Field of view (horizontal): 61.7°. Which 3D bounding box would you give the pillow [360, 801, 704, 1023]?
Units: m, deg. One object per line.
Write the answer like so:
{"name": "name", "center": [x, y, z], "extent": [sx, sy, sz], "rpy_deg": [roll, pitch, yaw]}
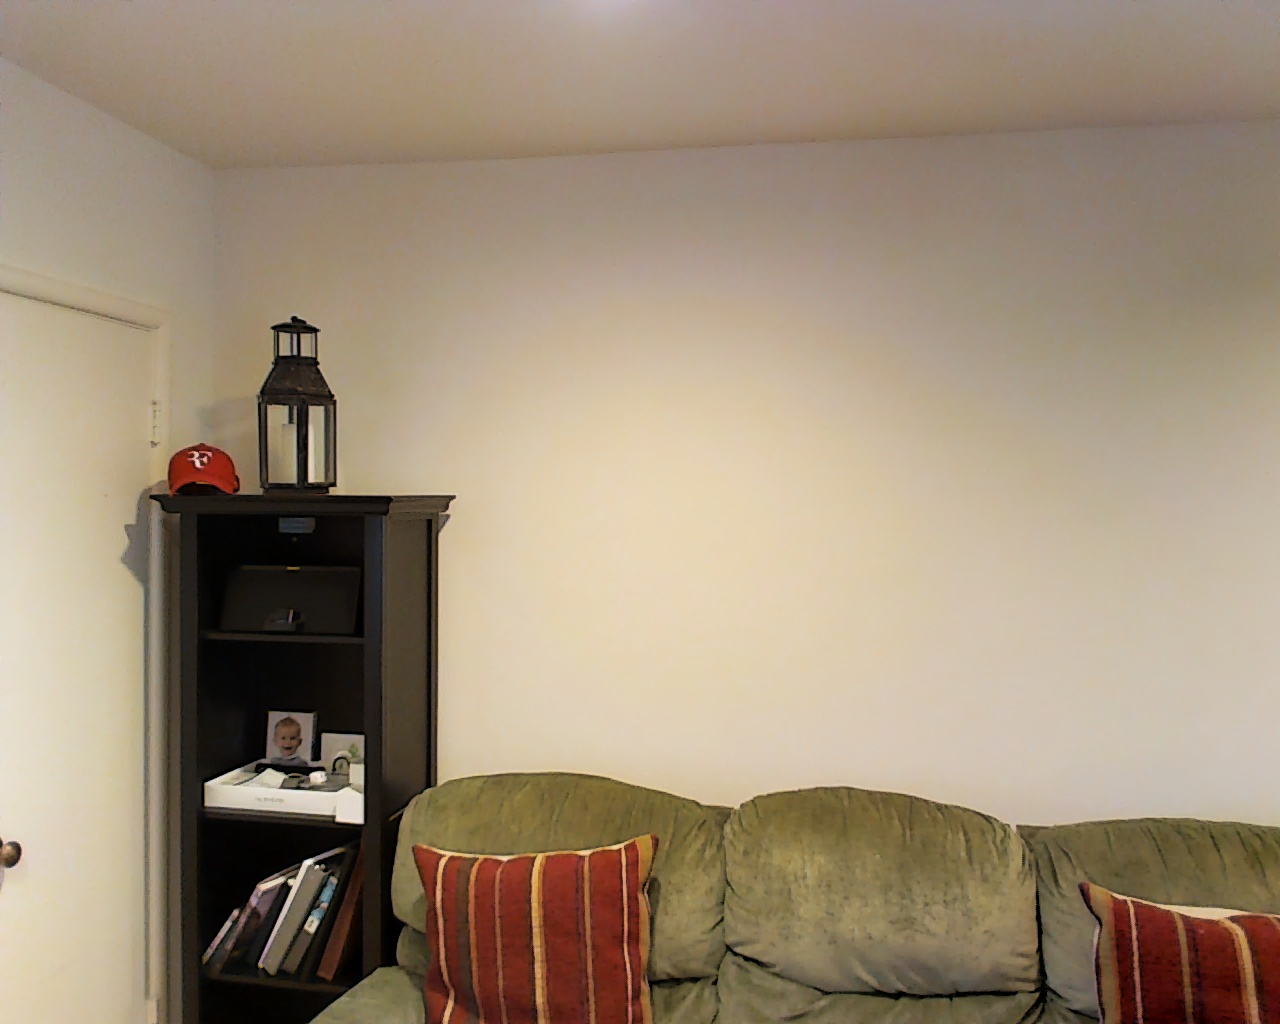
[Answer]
{"name": "pillow", "center": [-0.210, 0.910, 2.220], "extent": [0.590, 0.450, 0.240], "rpy_deg": [-13, -3, 4]}

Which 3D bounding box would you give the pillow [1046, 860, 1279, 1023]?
{"name": "pillow", "center": [1.100, 0.940, 1.930], "extent": [0.540, 0.490, 0.220], "rpy_deg": [-18, -4, 10]}
